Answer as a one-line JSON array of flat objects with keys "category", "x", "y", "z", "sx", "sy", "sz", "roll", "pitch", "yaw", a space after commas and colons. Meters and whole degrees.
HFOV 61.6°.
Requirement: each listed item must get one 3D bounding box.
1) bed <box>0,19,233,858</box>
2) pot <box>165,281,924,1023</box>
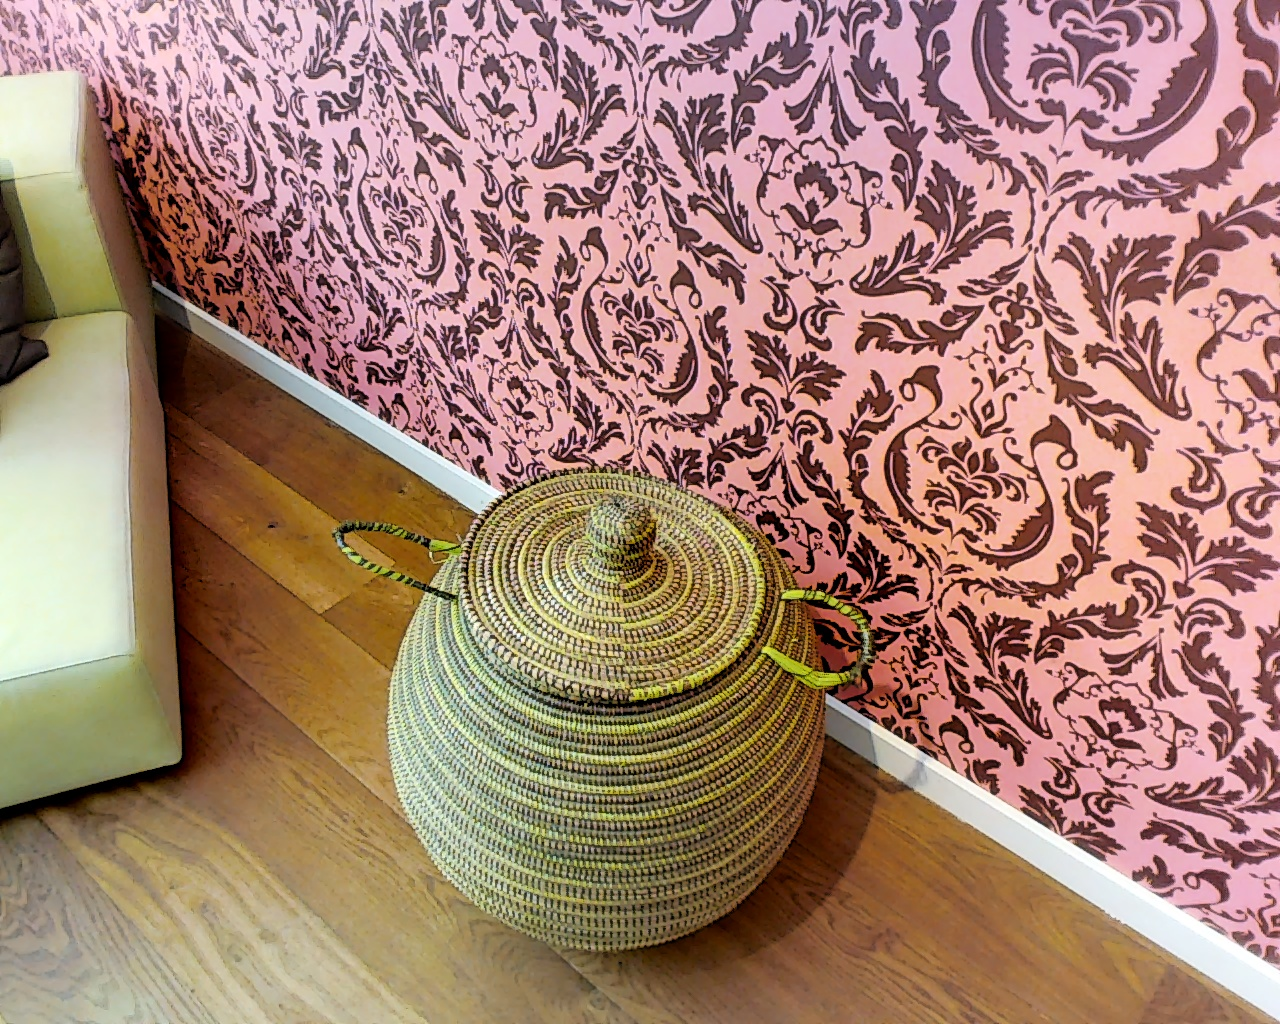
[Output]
[{"category": "bed", "x": -1.380, "y": -0.200, "z": 1.820, "sx": 1.060, "sy": 0.660, "sz": 1.580, "roll": -13, "pitch": 43, "yaw": -16}, {"category": "pot", "x": -0.050, "y": 0.210, "z": 1.370, "sx": 0.620, "sy": 0.680, "sz": 0.640, "roll": 12, "pitch": 42, "yaw": 12}]
